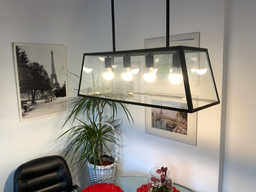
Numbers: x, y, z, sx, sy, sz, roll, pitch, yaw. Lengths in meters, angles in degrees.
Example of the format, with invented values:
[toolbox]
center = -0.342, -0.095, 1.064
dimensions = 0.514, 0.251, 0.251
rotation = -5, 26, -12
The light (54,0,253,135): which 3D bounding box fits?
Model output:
[light]
center = 0.130, -0.160, 1.450
dimensions = 0.980, 0.910, 0.360
rotation = 87, -177, -46
